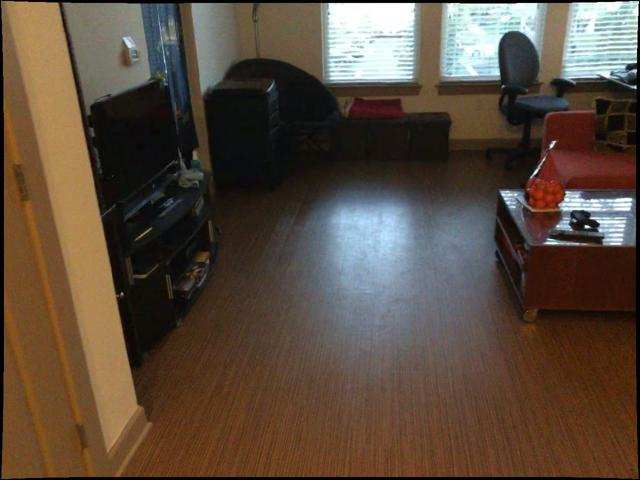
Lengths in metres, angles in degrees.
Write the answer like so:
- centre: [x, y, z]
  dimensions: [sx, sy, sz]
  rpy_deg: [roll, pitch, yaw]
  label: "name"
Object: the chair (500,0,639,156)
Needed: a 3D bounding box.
- centre: [2.075, -1.403, 4.660]
  dimensions: [0.839, 1.082, 0.830]
  rpy_deg: [-21, 30, -20]
  label: "chair"
